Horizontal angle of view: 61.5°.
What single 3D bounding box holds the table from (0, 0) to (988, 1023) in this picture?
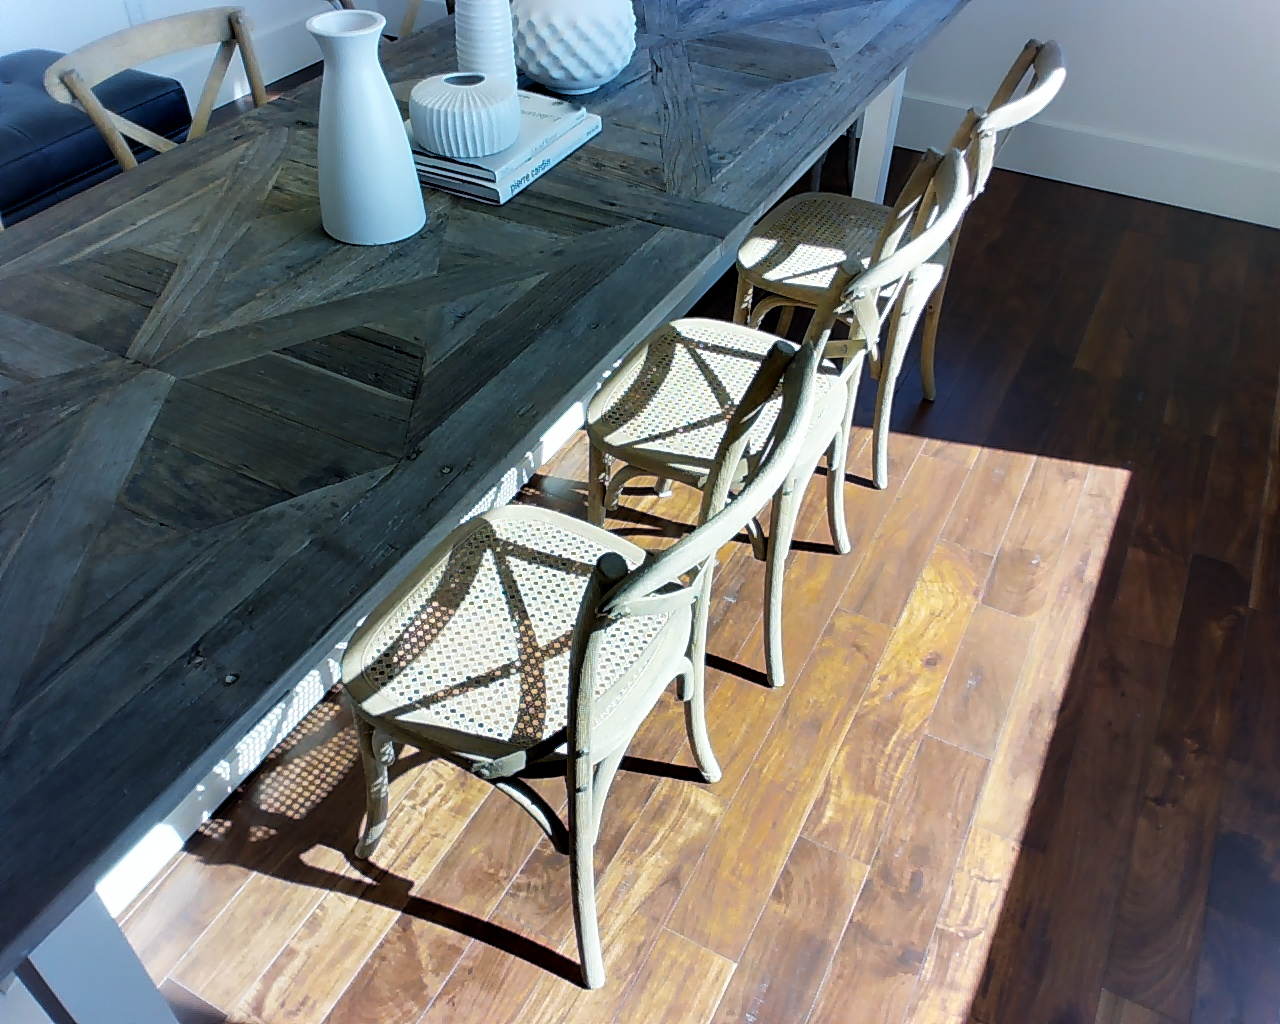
[{"bbox_3d":[-0.270,-0.330,2.140,0.980,0.780,3.100,20,45,20],"label":"table"}]
